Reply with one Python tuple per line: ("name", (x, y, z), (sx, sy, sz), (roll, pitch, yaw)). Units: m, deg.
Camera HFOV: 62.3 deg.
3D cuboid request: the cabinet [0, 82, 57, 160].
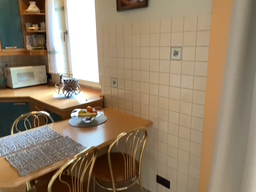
("cabinet", (-1.420, 0.300, 3.050), (0.420, 0.860, 0.860), (-1, 14, 0))
